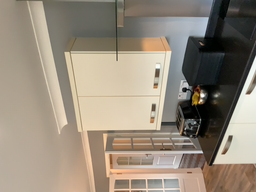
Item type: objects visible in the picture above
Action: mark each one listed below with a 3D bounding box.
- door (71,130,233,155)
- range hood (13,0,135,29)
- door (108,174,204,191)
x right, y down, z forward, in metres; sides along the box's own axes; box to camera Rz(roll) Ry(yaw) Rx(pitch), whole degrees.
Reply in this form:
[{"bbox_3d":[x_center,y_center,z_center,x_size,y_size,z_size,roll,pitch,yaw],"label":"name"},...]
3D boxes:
[{"bbox_3d":[0.370,0.760,3.540,0.650,2.480,0.050,-98,8,-73],"label":"door"},{"bbox_3d":[-0.350,-0.810,1.430,0.320,0.780,0.610,-93,4,-52],"label":"range hood"},{"bbox_3d":[0.560,1.890,4.310,0.080,1.940,0.530,94,175,-65],"label":"door"}]
